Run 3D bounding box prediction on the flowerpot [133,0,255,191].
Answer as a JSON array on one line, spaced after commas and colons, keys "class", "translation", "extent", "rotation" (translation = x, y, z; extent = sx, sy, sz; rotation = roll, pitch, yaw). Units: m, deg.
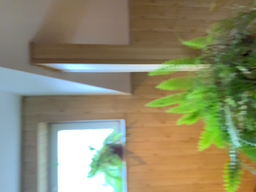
[{"class": "flowerpot", "translation": [0.790, -0.020, 1.080], "extent": [0.900, 1.410, 0.800], "rotation": [-140, 49, -82]}]
